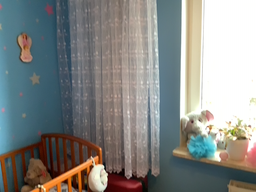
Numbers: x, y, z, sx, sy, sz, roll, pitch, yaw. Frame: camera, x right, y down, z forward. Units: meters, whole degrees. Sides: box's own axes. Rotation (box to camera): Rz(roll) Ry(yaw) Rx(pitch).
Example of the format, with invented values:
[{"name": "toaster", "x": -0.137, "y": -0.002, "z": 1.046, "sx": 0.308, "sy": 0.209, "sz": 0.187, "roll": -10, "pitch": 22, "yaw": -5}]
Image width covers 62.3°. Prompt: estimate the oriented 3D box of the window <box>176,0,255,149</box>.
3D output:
[{"name": "window", "x": 1.110, "y": -0.330, "z": 1.480, "sx": 1.500, "sy": 1.470, "sz": 0.140, "roll": 3, "pitch": 9, "yaw": 27}]
